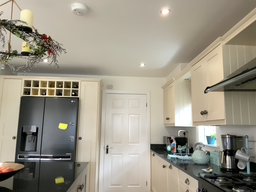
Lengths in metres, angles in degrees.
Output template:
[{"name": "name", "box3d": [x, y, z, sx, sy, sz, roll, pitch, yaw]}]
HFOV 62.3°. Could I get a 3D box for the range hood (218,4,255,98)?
[{"name": "range hood", "box3d": [1.090, -0.320, 1.550, 0.470, 0.560, 0.840, 1, -8, -1]}]
